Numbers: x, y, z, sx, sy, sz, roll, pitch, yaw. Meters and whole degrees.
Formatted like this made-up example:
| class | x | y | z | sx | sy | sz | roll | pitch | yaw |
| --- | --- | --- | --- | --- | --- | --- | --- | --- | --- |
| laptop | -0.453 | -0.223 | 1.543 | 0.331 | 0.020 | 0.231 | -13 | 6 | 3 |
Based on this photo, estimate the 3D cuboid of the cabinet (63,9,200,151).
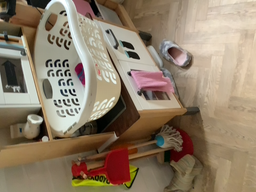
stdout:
| class | x | y | z | sx | sy | sz | roll | pitch | yaw |
| --- | --- | --- | --- | --- | --- | --- | --- | --- | --- |
| cabinet | 0.000 | -0.100 | 1.360 | 0.370 | 0.540 | 0.710 | -45 | 58 | 35 |
